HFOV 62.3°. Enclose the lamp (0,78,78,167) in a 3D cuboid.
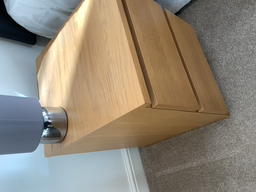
[{"bbox_3d":[-0.320,0.090,0.600,0.230,0.240,0.180,-28,65,38],"label":"lamp"}]
